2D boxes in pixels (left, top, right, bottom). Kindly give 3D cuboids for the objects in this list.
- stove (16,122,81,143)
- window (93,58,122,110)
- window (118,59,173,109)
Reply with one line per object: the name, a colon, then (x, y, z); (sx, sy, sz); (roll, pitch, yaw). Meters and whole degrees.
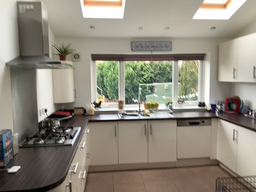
stove: (-0.880, 0.410, 2.510); (0.560, 0.040, 0.730); (-1, 5, -6)
window: (-0.410, -0.240, 4.290); (0.550, 1.030, 0.230); (-1, 5, -4)
window: (0.350, -0.240, 4.300); (1.070, 0.970, 0.250); (0, 5, 1)
